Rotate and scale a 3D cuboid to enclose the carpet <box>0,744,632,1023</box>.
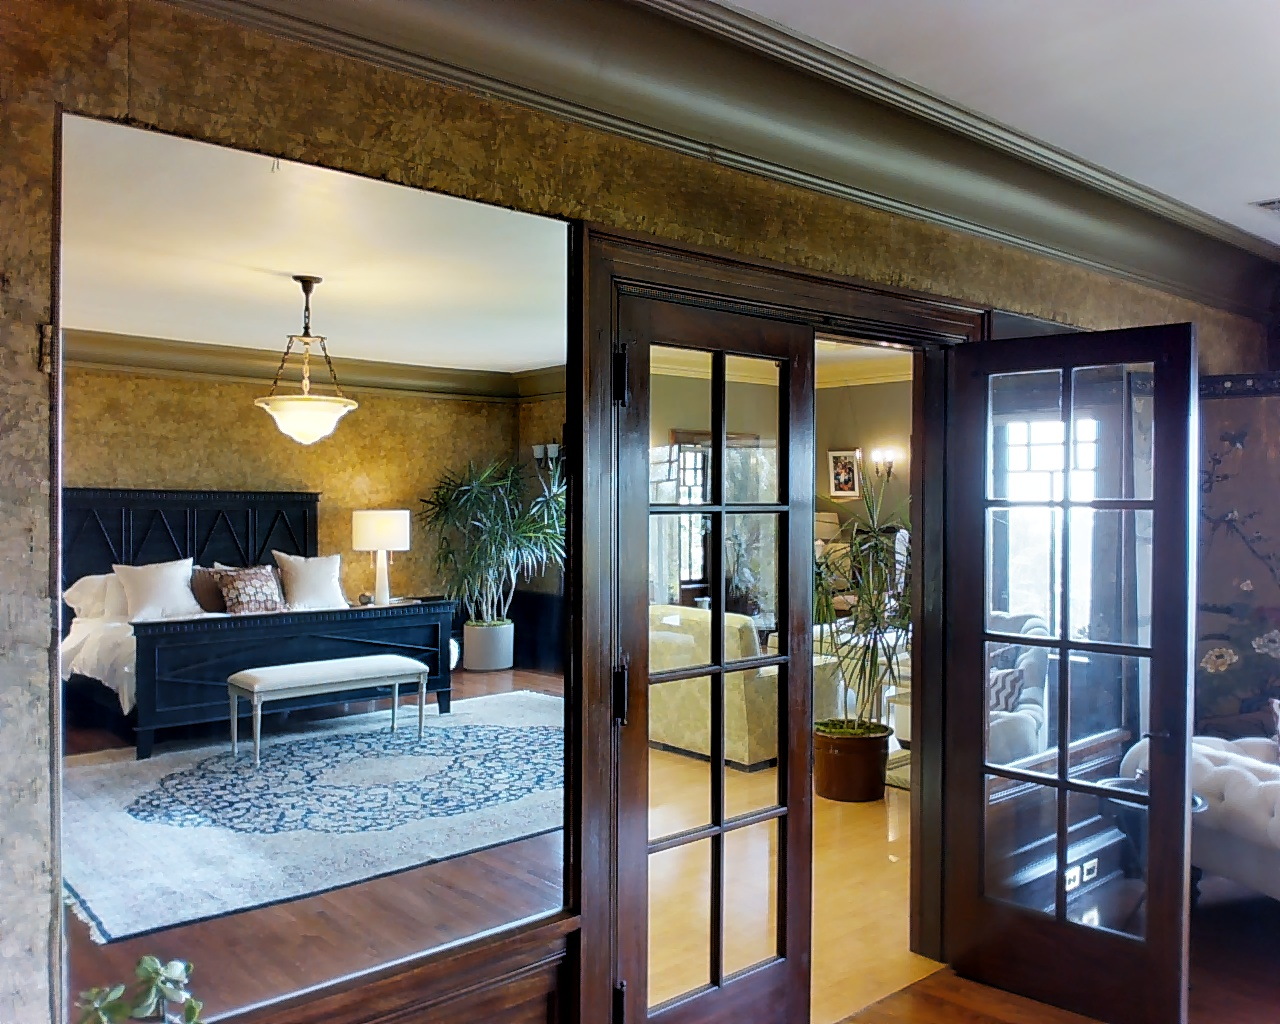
[{"bbox_3d":[-2.270,1.550,4.780,2.780,0.020,3.590,-1,1,-42],"label":"carpet"}]
